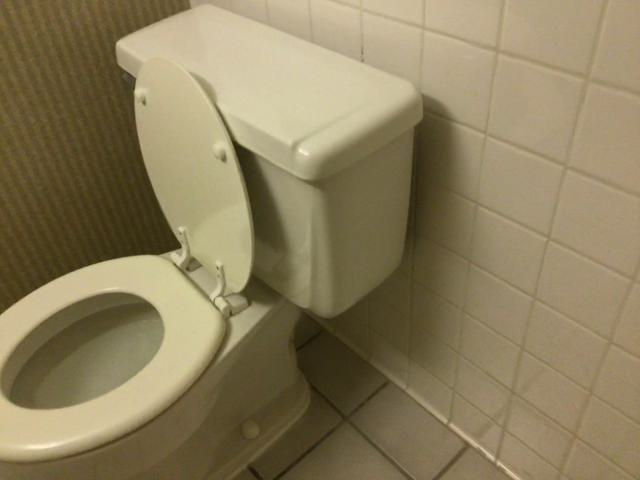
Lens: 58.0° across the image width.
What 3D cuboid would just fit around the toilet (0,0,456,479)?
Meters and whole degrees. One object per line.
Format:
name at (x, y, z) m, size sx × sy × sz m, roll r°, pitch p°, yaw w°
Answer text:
toilet at (-0.230, 0.110, 0.920) m, size 0.680 × 0.740 × 0.530 m, roll -33°, pitch 45°, yaw -29°
